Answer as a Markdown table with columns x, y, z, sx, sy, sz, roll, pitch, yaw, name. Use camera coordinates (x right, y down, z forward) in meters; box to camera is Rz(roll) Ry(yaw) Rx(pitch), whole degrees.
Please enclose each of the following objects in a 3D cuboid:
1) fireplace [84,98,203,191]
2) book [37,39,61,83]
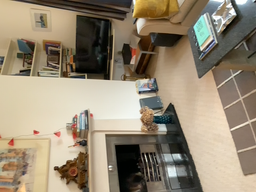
| x | y | z | sx | sy | sz | roll | pitch | yaw | name |
| --- | --- | --- | --- | --- | --- | --- | --- | --- | --- |
| 0.100 | 0.870 | 2.710 | 0.680 | 1.220 | 1.560 | 112 | 155 | -50 | fireplace |
| -1.380 | -0.630 | 3.750 | 0.250 | 0.330 | 0.810 | 113 | 154 | -51 | book |
